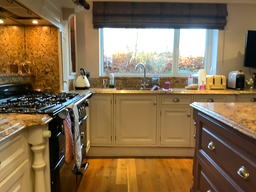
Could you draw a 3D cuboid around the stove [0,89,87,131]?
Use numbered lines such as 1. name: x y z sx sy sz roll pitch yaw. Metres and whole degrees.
1. stove: -0.780 0.060 1.830 0.630 0.120 1.230 1 7 -1
